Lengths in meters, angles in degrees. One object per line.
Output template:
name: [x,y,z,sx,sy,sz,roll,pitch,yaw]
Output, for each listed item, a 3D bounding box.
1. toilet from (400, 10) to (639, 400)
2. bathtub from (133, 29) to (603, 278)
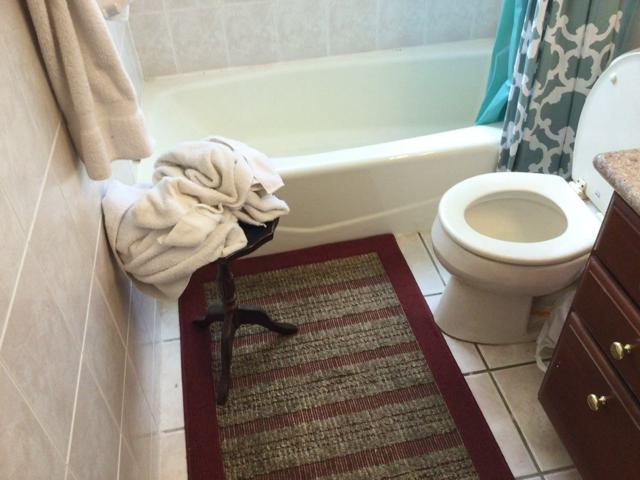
toilet: [0.630,-0.080,1.470,0.690,0.780,0.480,-9,43,-7]
bathtub: [0.110,-0.370,2.120,1.450,0.350,0.760,-9,43,-7]
